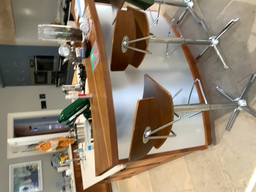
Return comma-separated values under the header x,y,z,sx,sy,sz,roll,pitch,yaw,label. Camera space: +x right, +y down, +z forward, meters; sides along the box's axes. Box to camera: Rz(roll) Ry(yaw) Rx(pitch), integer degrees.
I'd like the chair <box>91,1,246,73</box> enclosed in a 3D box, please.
x,y,z,sx,sy,sz,roll,pitch,yaw,label
0.300,-0.460,1.700,0.480,1.070,0.380,-128,41,-53,chair

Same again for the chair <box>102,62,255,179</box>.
x,y,z,sx,sy,sz,roll,pitch,yaw,label
0.430,0.090,1.440,0.510,1.070,0.470,-128,41,-53,chair

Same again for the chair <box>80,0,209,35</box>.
x,y,z,sx,sy,sz,roll,pitch,yaw,label
0.150,-0.970,1.970,0.530,1.060,0.490,117,143,-49,chair
